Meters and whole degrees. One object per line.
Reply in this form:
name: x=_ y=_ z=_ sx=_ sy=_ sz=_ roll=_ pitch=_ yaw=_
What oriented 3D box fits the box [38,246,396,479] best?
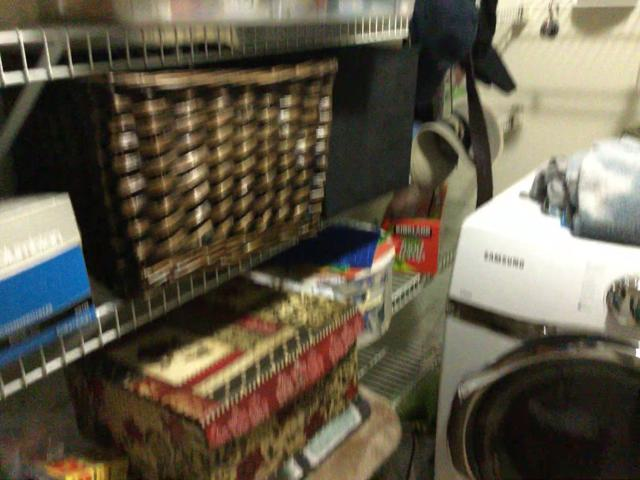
box: x=-0.150 y=0.220 z=1.000 sx=0.370 sy=0.210 sz=0.460 roll=15 pitch=27 yaw=35

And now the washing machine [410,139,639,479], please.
washing machine: x=0.720 y=0.380 z=1.330 sx=0.740 sy=1.020 sz=0.730 roll=15 pitch=27 yaw=35

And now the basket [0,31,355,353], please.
basket: x=-0.230 y=-0.130 z=0.870 sx=0.390 sy=0.330 sz=0.430 roll=15 pitch=27 yaw=35
